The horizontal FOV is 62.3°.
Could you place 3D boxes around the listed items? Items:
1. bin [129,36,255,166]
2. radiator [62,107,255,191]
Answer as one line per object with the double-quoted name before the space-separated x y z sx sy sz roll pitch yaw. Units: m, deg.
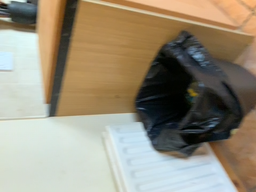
"bin" 0.360 0.030 0.950 0.400 0.530 0.320 -61 40 41
"radiator" 0.270 0.510 0.810 0.120 0.850 1.070 -61 40 41
